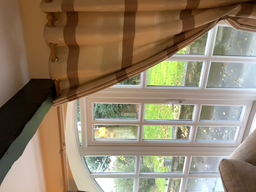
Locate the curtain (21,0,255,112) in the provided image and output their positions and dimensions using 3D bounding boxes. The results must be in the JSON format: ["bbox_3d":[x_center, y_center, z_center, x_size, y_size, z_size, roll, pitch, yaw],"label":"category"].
[{"bbox_3d":[0.460,-0.350,1.660,0.170,2.360,0.950,-100,12,-67],"label":"curtain"}]
